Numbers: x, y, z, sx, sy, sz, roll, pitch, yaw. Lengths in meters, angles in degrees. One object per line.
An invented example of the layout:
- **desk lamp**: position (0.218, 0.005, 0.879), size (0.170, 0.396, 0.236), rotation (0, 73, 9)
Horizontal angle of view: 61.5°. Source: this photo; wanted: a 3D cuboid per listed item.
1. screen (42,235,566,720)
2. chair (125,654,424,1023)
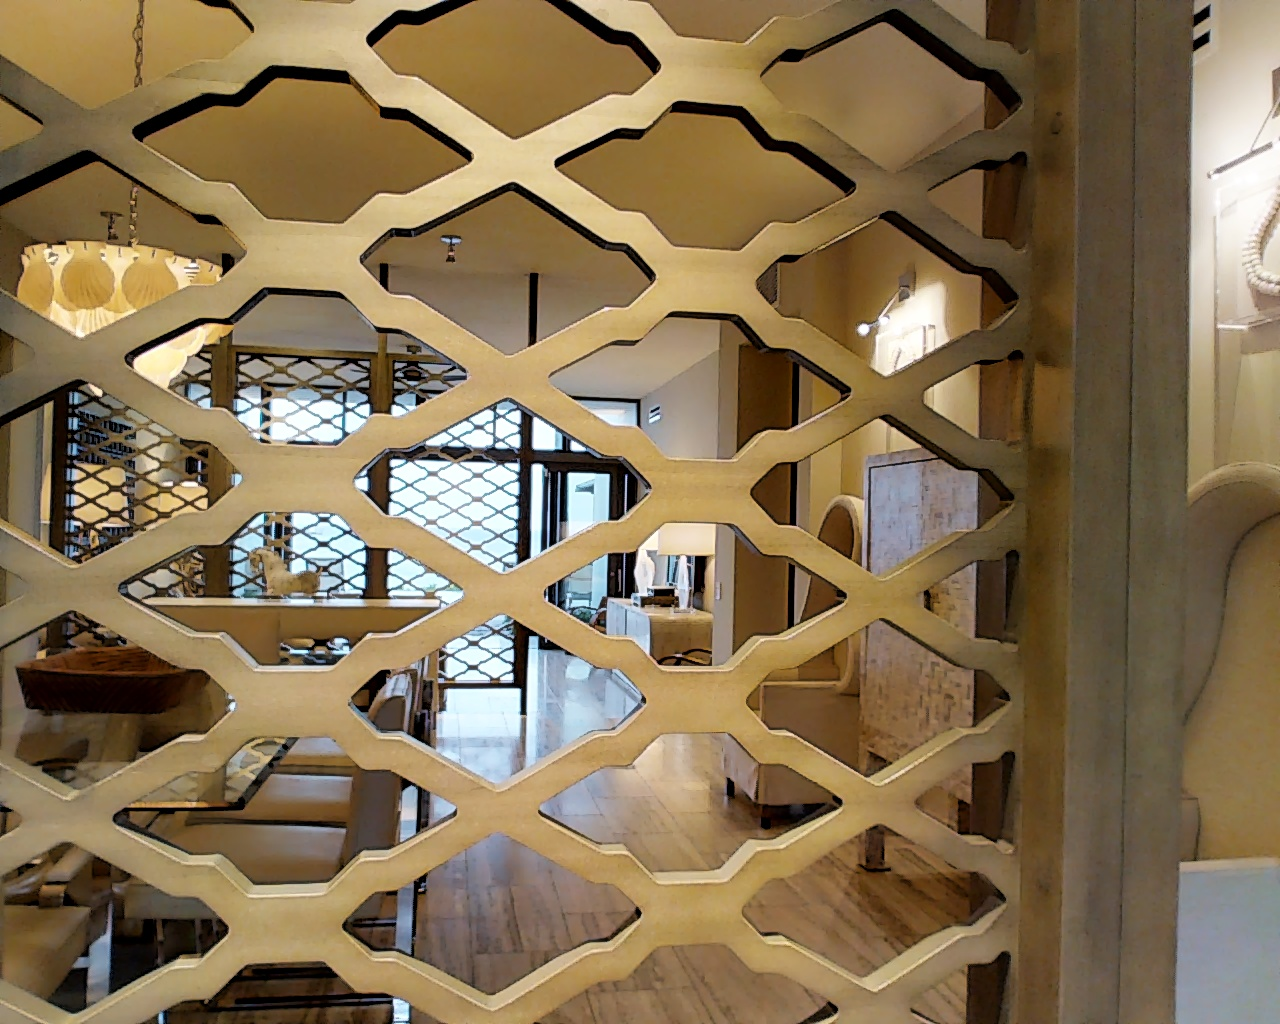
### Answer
- **screen**: position (-2.210, -0.190, 7.340), size (3.330, 3.140, 0.220), rotation (1, 0, -9)
- **chair**: position (-0.880, 0.830, 2.730), size (0.610, 0.860, 0.610), rotation (1, 0, -9)
